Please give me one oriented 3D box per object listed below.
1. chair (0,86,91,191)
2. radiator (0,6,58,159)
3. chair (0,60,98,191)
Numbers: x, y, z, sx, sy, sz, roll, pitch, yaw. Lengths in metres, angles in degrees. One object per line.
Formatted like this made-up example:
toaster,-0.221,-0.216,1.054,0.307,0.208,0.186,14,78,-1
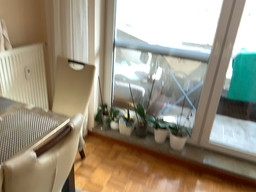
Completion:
chair,-0.580,0.520,1.140,0.610,0.950,0.430,15,27,21
radiator,-0.920,-0.120,1.890,0.180,1.250,0.550,15,26,20
chair,-0.630,0.230,1.830,0.430,0.890,0.670,14,26,19
